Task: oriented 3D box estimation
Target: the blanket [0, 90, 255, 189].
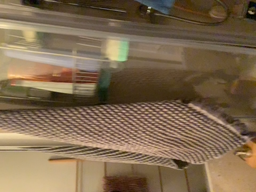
[{"bbox_3d":[0.000,0.110,0.670,0.260,0.990,0.190,-149,63,-74],"label":"blanket"}]
